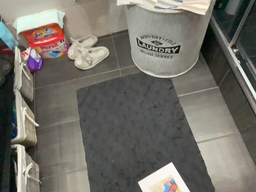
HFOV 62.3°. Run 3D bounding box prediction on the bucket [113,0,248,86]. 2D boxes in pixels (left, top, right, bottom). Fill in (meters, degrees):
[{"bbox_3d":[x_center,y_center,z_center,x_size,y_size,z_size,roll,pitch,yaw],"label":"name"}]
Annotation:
[{"bbox_3d":[0.220,-0.450,1.230,0.550,0.590,0.480,-9,64,2],"label":"bucket"}]
